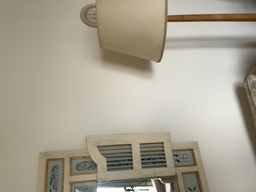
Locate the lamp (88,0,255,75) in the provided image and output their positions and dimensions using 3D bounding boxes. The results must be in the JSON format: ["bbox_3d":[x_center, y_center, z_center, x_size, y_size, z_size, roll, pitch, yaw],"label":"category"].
[{"bbox_3d":[0.660,-0.490,1.280,0.470,1.740,0.520,101,166,-59],"label":"lamp"}]

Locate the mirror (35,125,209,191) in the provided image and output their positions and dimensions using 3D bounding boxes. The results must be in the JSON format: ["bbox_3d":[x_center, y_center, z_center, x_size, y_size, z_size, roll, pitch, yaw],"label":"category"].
[{"bbox_3d":[-0.010,0.600,1.050,0.100,0.870,0.890,102,165,-61],"label":"mirror"}]
